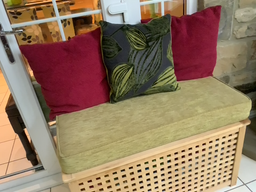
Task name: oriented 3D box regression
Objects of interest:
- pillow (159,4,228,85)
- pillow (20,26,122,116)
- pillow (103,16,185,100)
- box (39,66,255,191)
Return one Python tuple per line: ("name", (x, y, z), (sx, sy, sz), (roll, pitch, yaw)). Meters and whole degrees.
("pillow", (0.390, -0.320, 1.320), (0.340, 0.410, 0.170), (-12, 29, -9))
("pillow", (-0.280, -0.140, 1.150), (0.430, 0.370, 0.170), (-14, 30, -12))
("pillow", (0.090, -0.210, 1.170), (0.380, 0.370, 0.140), (-12, 17, -9))
("box", (0.120, 0.300, 1.300), (1.060, 0.630, 0.510), (-14, 30, -12))
